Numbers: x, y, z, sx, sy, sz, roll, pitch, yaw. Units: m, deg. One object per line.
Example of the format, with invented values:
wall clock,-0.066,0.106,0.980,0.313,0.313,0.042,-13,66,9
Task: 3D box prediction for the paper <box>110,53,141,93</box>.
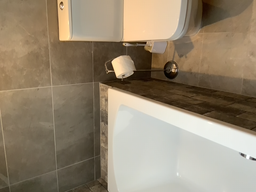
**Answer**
paper,-0.020,-0.150,1.330,0.150,0.130,0.230,18,111,51
